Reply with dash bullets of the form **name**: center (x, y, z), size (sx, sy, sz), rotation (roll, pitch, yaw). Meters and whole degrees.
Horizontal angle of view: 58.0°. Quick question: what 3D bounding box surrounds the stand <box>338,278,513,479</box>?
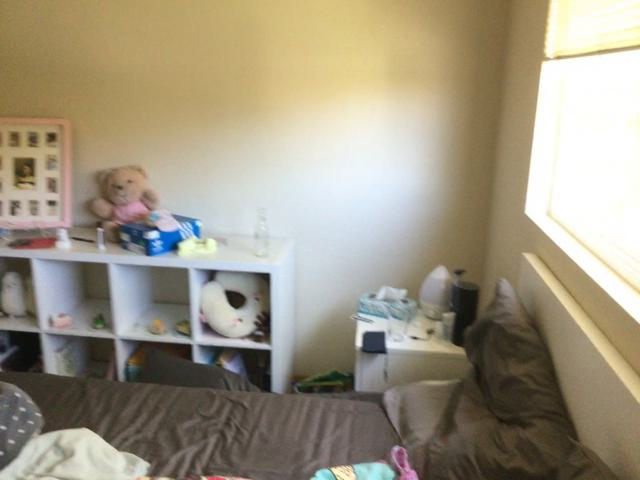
- **stand**: center (0.400, 0.560, 2.370), size (0.580, 0.630, 0.520), rotation (4, 15, 6)

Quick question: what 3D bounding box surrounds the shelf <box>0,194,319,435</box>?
- **shelf**: center (-0.820, 0.310, 2.660), size (1.560, 0.890, 0.420), rotation (4, 15, 6)
